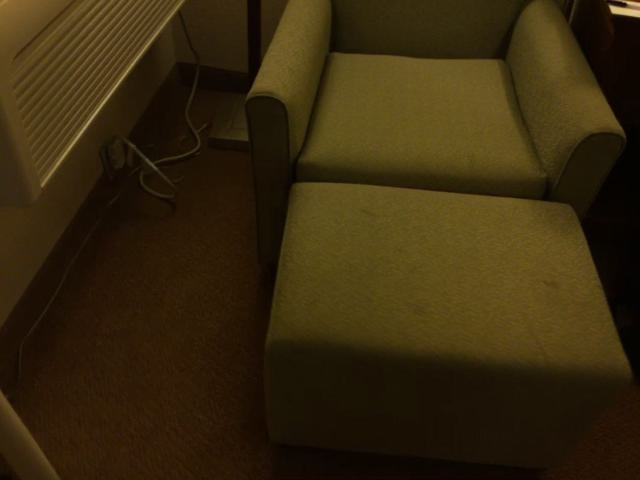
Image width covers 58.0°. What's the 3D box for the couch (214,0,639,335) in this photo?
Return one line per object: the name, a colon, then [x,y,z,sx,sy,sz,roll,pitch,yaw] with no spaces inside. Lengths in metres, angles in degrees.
couch: [0.270,-0.460,1.460,0.800,0.970,0.870,8,45,5]
